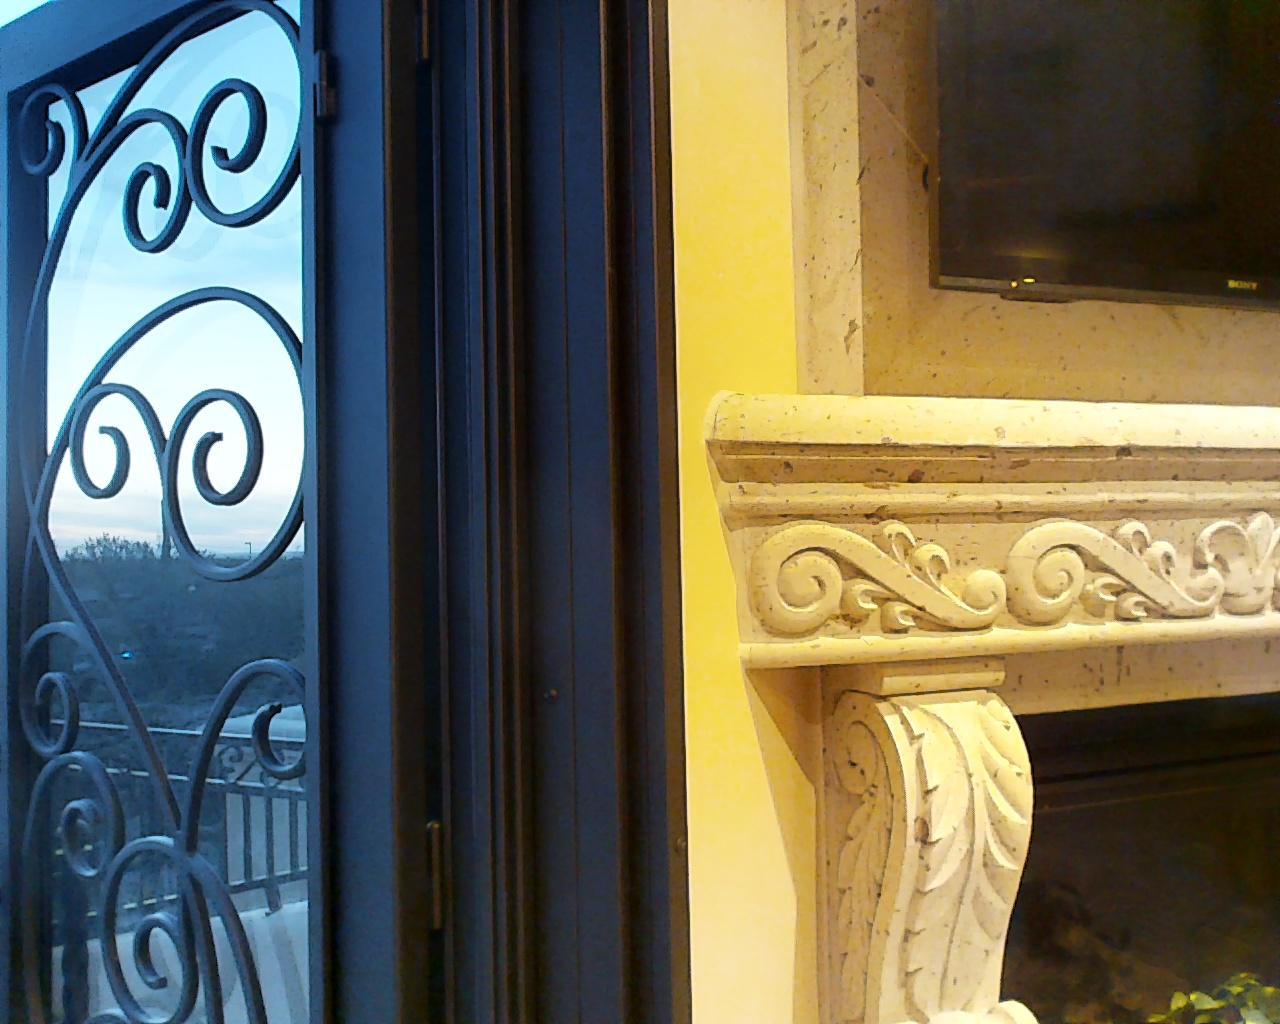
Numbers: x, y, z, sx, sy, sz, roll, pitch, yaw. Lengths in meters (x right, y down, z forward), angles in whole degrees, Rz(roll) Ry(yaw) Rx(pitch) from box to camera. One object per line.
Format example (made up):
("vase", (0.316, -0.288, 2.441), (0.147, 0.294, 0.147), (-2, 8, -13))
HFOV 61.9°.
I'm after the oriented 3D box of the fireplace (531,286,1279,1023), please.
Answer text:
("fireplace", (0.950, 0.660, 1.630), (2.130, 1.760, 0.560), (0, -2, -18))
